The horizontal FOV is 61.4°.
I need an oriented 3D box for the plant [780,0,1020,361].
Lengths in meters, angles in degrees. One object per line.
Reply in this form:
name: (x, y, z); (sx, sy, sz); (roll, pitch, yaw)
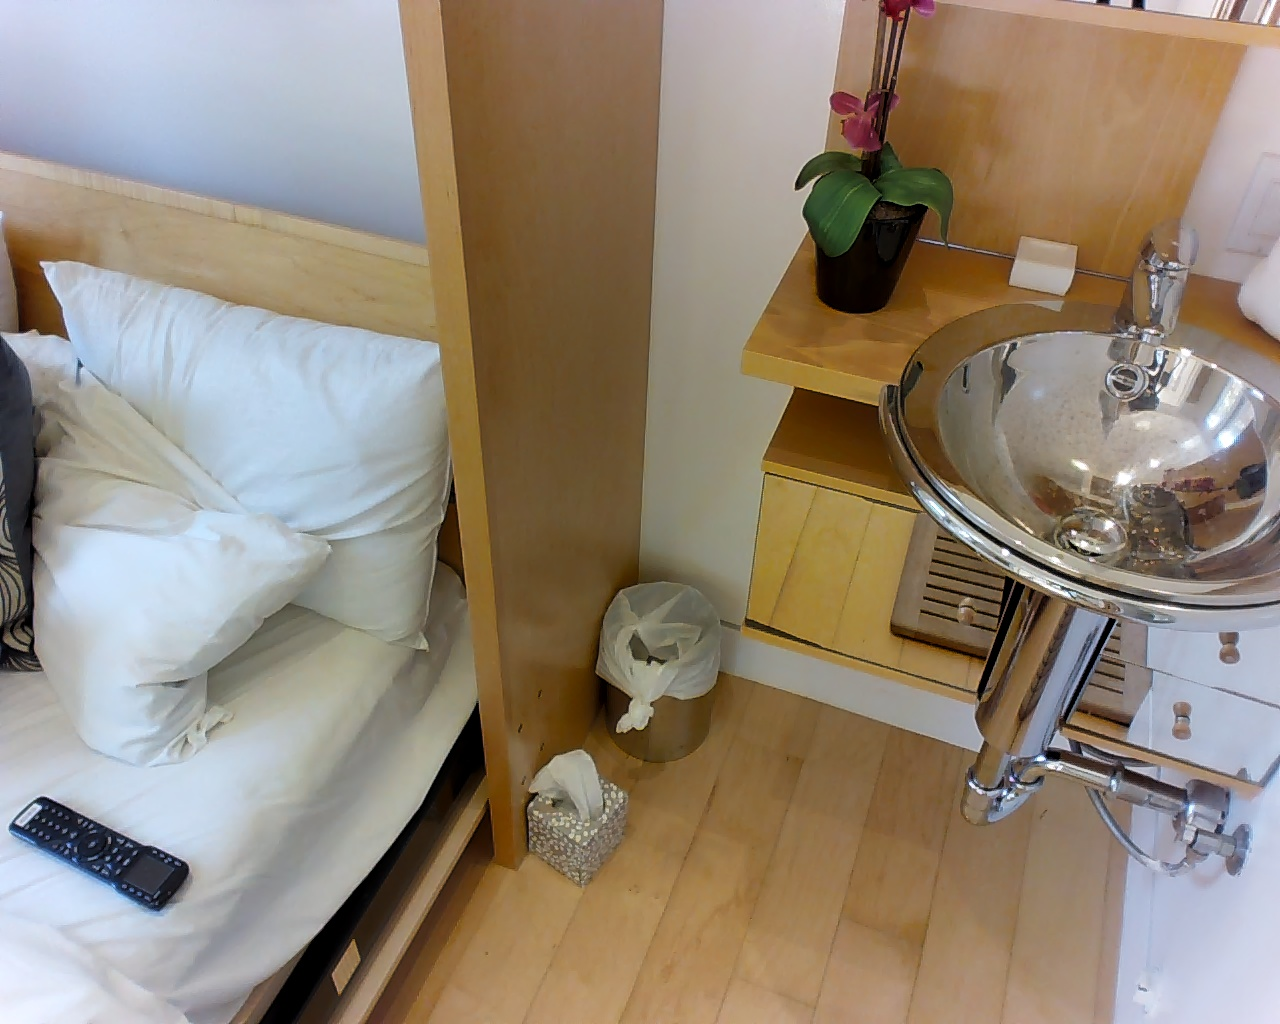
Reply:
plant: (0.270, -0.410, 1.080); (0.150, 0.430, 0.240); (16, 44, 15)

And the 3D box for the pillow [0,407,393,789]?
pillow: (-0.590, 0.090, 1.420); (0.320, 0.180, 0.410); (-33, 52, -32)

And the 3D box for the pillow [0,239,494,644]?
pillow: (-0.600, -0.100, 1.490); (0.750, 0.400, 0.150); (22, 66, 15)
